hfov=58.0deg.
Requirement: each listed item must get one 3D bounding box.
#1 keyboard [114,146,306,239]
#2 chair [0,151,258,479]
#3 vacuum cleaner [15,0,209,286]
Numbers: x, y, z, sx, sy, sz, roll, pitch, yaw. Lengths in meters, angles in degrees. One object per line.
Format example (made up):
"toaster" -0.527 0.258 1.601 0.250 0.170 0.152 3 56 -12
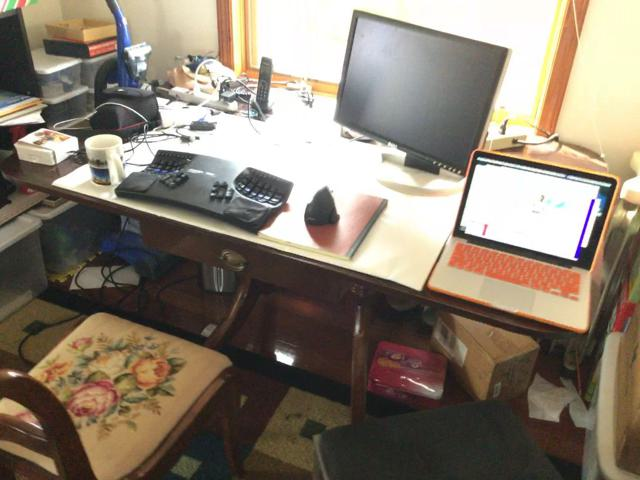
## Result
"keyboard" -0.270 -0.130 1.450 0.420 0.060 0.210 14 37 17
"chair" -0.490 0.370 1.230 0.460 0.890 0.560 14 37 18
"vacuum cleaner" -0.730 -0.410 2.200 0.360 1.110 0.380 14 37 17
